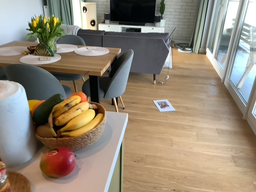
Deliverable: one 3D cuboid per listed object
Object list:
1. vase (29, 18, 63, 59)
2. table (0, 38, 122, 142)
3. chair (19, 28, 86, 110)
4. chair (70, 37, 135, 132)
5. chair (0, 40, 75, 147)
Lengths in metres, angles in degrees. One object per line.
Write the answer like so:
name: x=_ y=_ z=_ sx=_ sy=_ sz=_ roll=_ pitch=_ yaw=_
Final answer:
vase: x=-0.830 y=-0.590 z=2.170 sx=0.240 sy=0.360 sz=0.150 roll=7 pitch=27 yaw=9
table: x=-0.910 y=-0.150 z=2.460 sx=1.530 sy=0.760 sz=0.860 roll=6 pitch=27 yaw=8
chair: x=-0.910 y=-0.360 z=2.730 sx=0.510 sy=0.870 sz=0.550 roll=7 pitch=27 yaw=8
chair: x=-0.250 y=-0.140 z=2.360 sx=0.540 sy=0.870 sz=0.510 roll=7 pitch=27 yaw=8
chair: x=-0.910 y=-0.040 z=2.110 sx=0.510 sy=0.870 sz=0.520 roll=6 pitch=27 yaw=8
